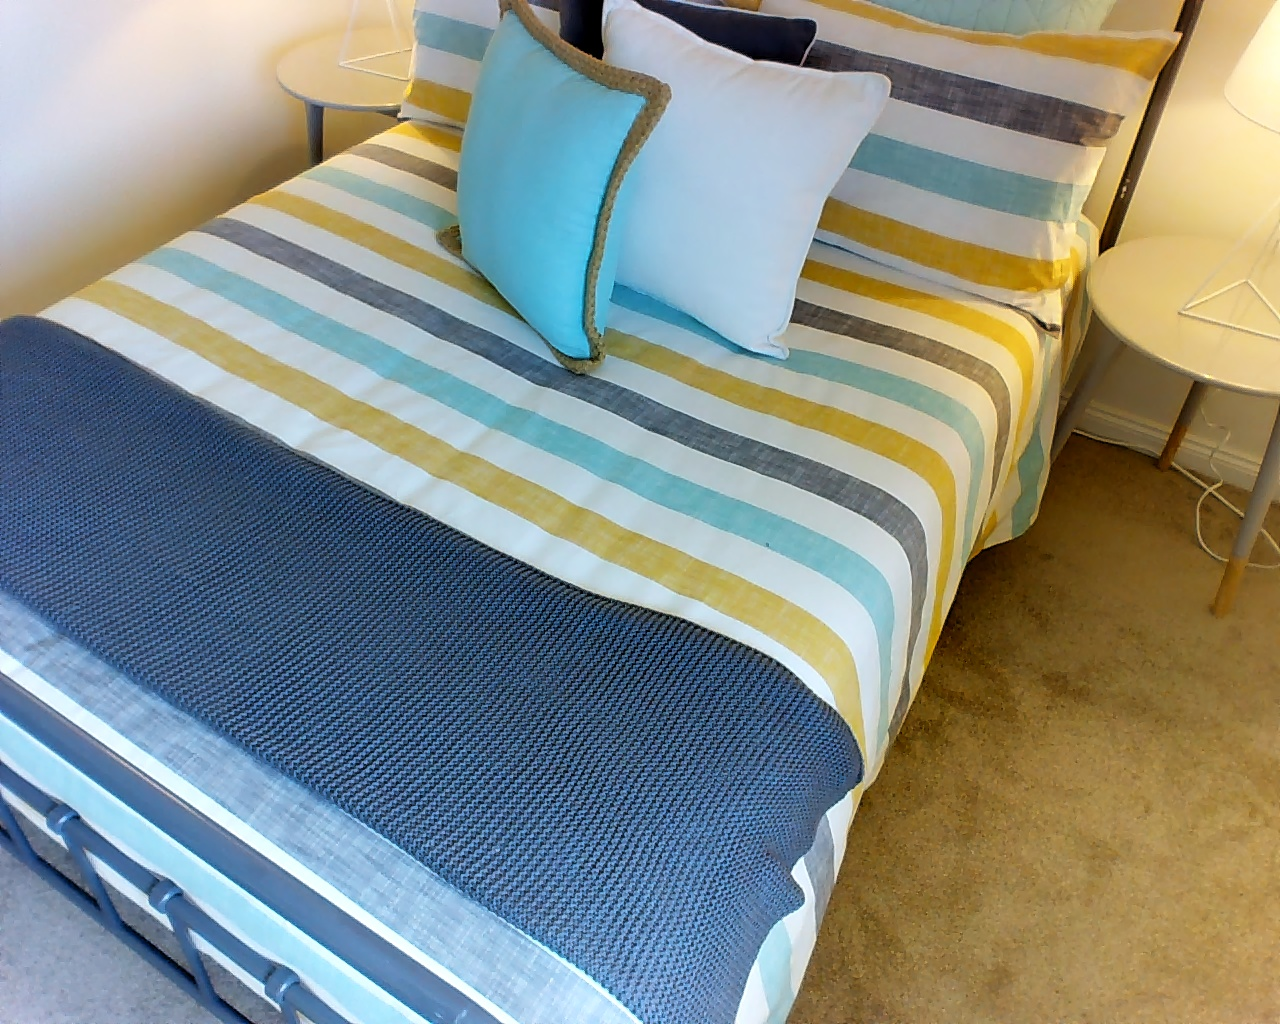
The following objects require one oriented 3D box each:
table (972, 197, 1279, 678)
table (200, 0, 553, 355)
[{"bbox_3d":[1.040,-0.160,2.030,0.530,0.560,0.560,23,47,21],"label":"table"},{"bbox_3d":[-0.620,-0.880,2.720,0.530,0.610,0.600,23,47,22],"label":"table"}]
